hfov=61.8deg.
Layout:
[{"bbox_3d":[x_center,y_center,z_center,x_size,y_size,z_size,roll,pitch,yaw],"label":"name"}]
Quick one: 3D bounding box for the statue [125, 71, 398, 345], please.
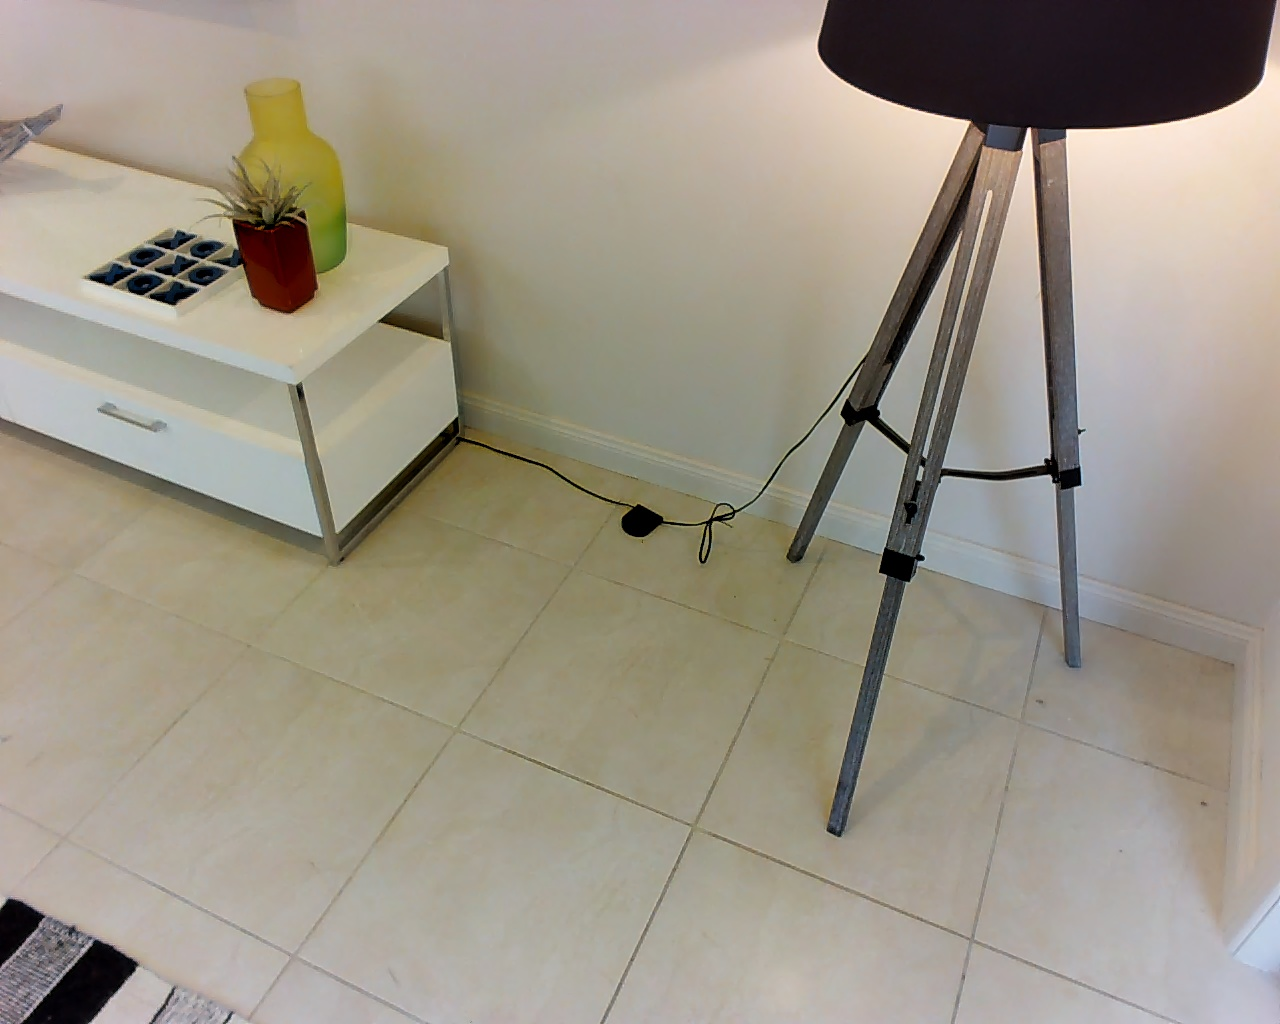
[{"bbox_3d":[-0.680,-0.570,1.990,0.290,0.350,0.310,16,43,16],"label":"statue"}]
